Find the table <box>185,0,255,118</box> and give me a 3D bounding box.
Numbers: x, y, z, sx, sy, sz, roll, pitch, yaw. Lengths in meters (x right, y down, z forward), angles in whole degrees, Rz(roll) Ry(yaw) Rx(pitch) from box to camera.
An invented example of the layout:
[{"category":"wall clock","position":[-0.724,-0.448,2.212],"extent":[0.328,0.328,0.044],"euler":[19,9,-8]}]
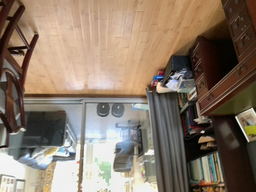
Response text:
[{"category":"table","position":[0.920,-0.330,1.770],"extent":[0.460,0.760,0.950],"euler":[0,156,-6]}]
